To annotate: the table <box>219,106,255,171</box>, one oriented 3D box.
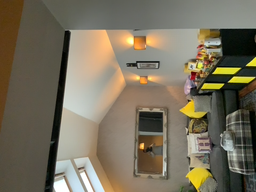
[{"bbox_3d":[1.800,0.710,3.530,0.610,0.310,0.960,70,-158,-75],"label":"table"}]
